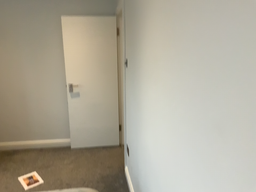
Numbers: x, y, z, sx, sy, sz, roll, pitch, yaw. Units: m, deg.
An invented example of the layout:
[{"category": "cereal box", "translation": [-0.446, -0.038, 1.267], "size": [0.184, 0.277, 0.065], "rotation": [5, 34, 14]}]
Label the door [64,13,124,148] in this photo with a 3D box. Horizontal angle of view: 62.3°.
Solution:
[{"category": "door", "translation": [-0.470, -0.180, 3.170], "size": [0.800, 1.980, 0.060], "rotation": [-2, 12, -7]}]
